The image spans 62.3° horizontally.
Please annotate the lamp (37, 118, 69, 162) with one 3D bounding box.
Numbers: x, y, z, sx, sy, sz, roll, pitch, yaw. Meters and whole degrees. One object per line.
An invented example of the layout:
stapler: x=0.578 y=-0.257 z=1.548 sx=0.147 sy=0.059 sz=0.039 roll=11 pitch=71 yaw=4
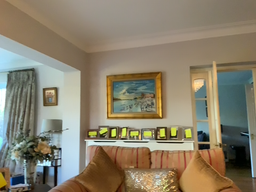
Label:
lamp: x=-1.270 y=0.740 z=3.630 sx=0.380 sy=0.700 sz=0.320 roll=-3 pitch=-7 yaw=16
